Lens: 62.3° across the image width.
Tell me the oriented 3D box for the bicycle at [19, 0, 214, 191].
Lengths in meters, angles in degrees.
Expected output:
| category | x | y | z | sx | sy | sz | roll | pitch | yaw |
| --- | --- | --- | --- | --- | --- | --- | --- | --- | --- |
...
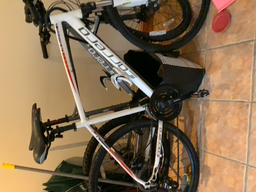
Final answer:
| category | x | y | z | sx | sy | sz | roll | pitch | yaw |
| --- | --- | --- | --- | --- | --- | --- | --- | --- | --- |
| bicycle | -0.080 | -0.080 | 1.340 | 0.550 | 0.980 | 1.700 | 10 | 95 | 61 |
